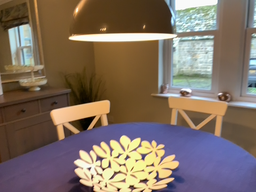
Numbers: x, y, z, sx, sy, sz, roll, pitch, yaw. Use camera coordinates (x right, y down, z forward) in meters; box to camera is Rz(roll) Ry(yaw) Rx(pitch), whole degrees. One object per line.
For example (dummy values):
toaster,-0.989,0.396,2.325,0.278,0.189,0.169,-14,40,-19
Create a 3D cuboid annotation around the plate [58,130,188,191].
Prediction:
plate,-0.010,0.300,0.940,0.380,0.080,0.430,9,17,40
